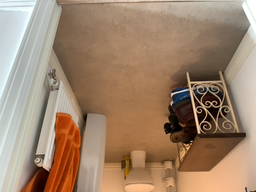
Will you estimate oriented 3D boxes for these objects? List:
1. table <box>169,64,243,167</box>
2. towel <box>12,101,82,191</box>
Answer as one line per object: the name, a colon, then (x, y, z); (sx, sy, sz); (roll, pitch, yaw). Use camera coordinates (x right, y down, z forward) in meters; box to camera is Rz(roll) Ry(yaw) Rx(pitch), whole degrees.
table: (0.490, 0.190, 1.550); (0.250, 0.460, 0.750); (-2, 148, 2)
towel: (-0.380, 0.360, 1.100); (0.120, 0.500, 0.470); (-2, 148, 2)
